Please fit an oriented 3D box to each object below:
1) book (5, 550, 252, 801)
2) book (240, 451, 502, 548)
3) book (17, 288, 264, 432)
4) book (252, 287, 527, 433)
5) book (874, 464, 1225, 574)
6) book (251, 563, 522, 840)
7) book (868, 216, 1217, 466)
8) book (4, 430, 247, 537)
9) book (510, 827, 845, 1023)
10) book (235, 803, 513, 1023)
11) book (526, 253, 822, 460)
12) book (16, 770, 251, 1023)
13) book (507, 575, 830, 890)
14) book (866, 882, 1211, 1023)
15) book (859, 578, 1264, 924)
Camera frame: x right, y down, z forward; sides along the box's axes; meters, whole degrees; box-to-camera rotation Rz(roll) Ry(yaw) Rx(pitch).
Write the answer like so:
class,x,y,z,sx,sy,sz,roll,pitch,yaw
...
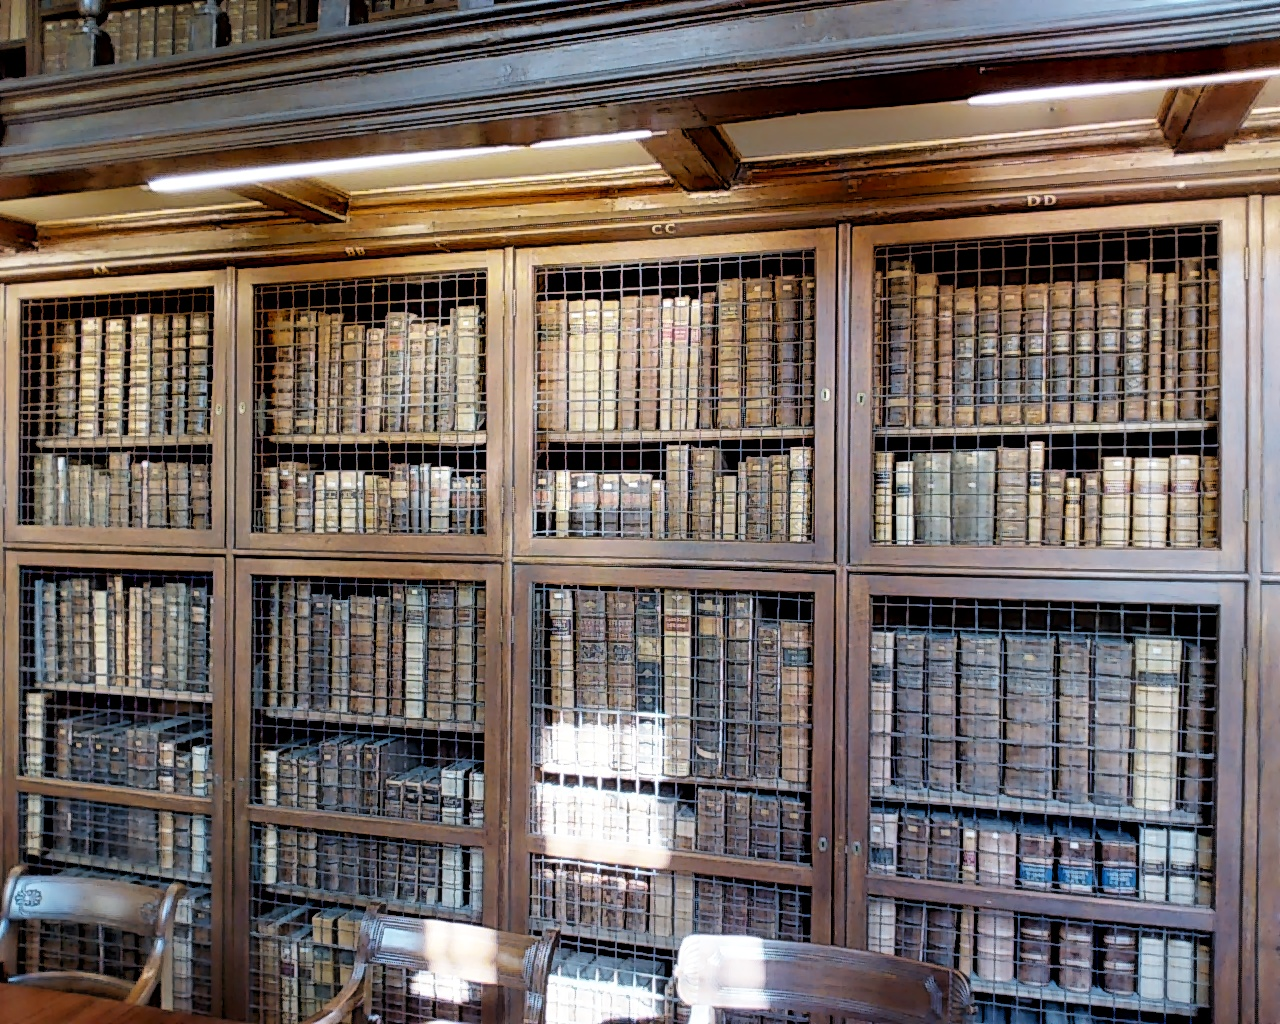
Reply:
class,x,y,z,sx,sy,sz,roll,pitch,yaw
book,-1.480,0.450,3.100,0.690,0.660,0.190,1,0,17
book,-0.720,-0.030,2.860,0.670,0.240,0.220,0,-1,21
book,-1.450,-0.430,3.120,0.660,0.370,0.220,1,0,15
book,-0.680,-0.400,2.930,0.690,0.340,0.260,1,0,17
book,0.860,0.010,2.310,0.690,0.220,0.120,1,1,15
book,-0.680,0.480,2.870,0.690,0.660,0.210,1,0,18
book,0.850,-0.350,2.330,0.680,0.490,0.200,1,0,15
book,-1.480,-0.080,3.080,0.700,0.290,0.150,1,0,15
book,0.090,1.200,2.590,0.770,0.740,0.240,1,0,17
book,-0.700,1.150,2.820,0.690,0.660,0.210,1,0,15
book,0.080,-0.360,2.580,0.690,0.460,0.150,1,0,14
book,-1.460,1.090,3.090,0.640,0.600,0.190,1,0,16
book,0.060,0.500,2.570,0.760,0.670,0.140,1,0,19
book,0.840,1.190,2.330,0.680,0.650,0.170,1,0,14
book,0.890,0.490,2.340,0.790,0.660,0.180,1,0,16
